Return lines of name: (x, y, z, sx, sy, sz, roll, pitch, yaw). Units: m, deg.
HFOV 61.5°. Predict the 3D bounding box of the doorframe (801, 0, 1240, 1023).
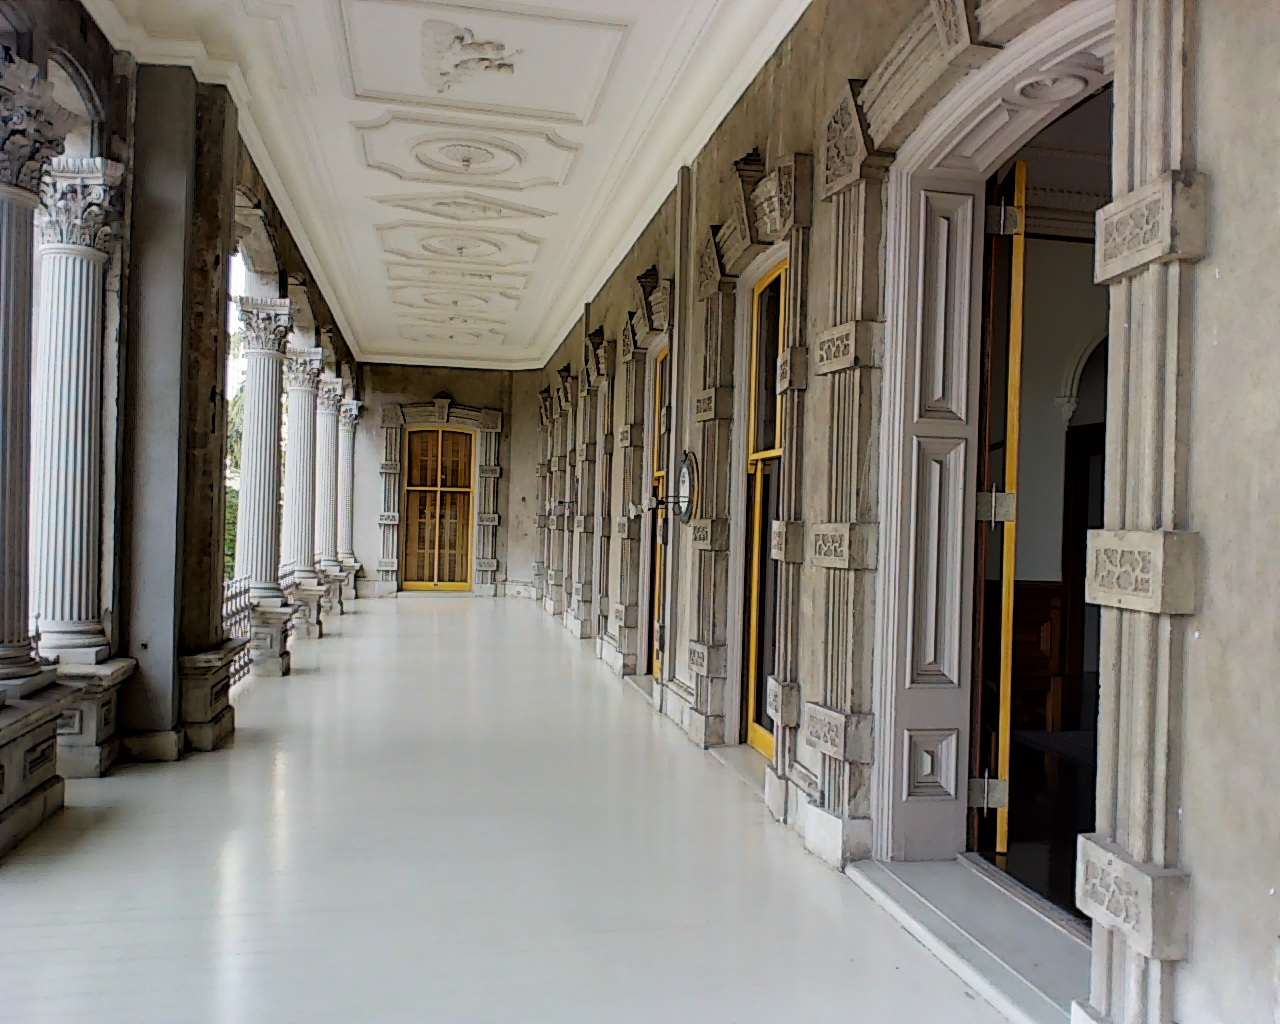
doorframe: (1.200, -0.190, 3.920, 0.460, 3.470, 2.050, 2, 0, -10)
